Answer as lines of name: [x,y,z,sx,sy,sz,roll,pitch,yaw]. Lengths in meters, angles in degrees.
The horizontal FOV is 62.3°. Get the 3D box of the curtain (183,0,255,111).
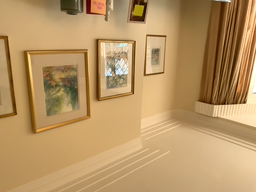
curtain: [1.380,-1.050,2.550,0.990,2.400,0.600,1,-164,-6]
